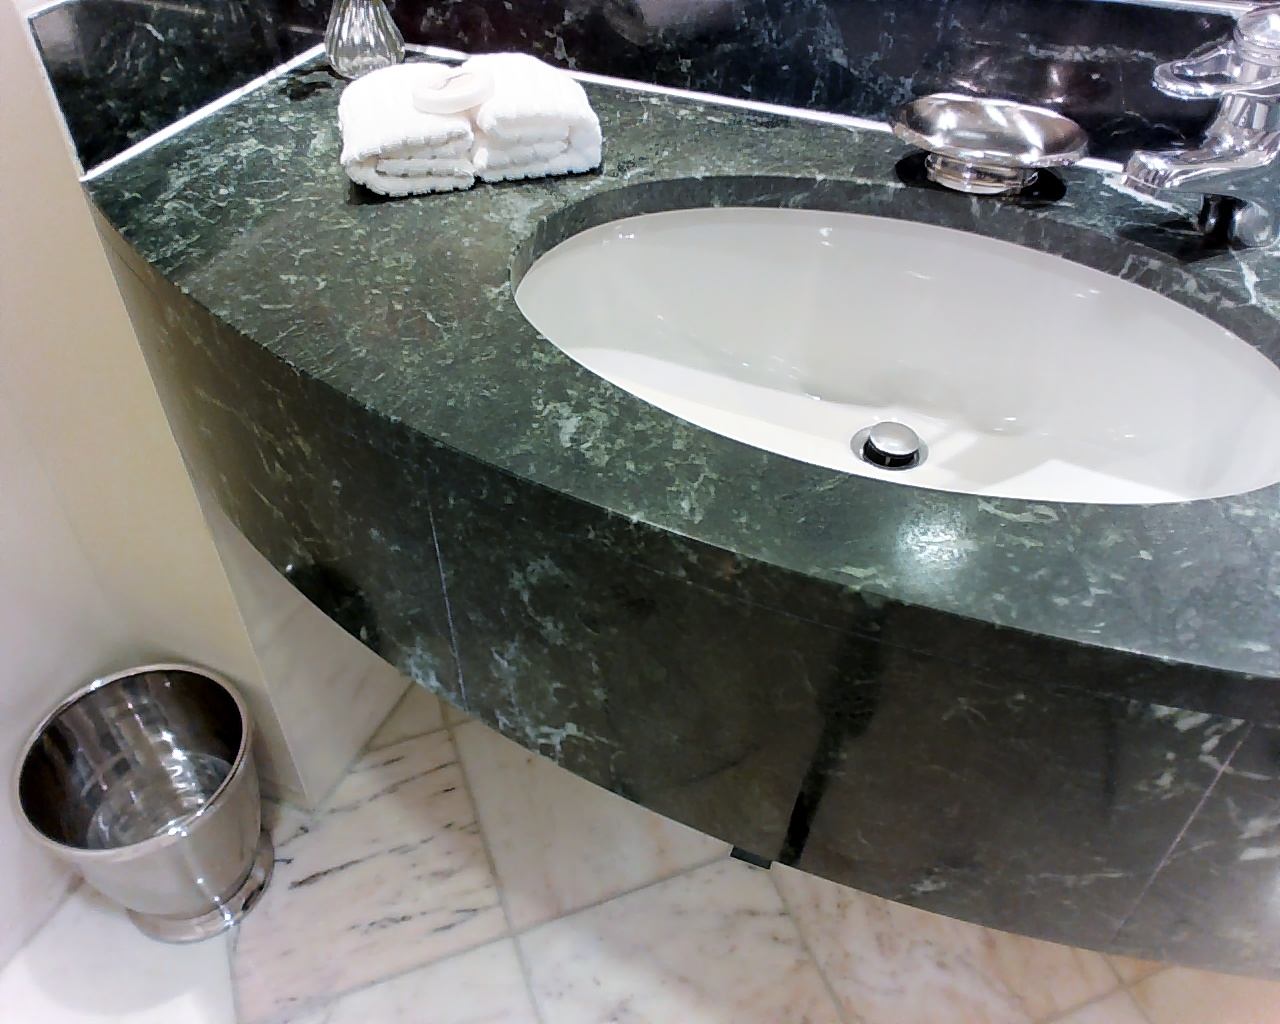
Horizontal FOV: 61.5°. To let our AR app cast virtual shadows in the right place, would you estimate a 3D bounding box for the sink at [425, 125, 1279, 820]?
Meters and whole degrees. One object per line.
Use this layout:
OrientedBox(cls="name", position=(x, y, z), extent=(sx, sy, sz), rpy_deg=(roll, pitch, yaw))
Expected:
OrientedBox(cls="sink", position=(0.180, -0.060, 0.750), extent=(0.550, 0.230, 0.290), rpy_deg=(16, 45, 17))
